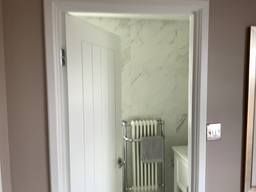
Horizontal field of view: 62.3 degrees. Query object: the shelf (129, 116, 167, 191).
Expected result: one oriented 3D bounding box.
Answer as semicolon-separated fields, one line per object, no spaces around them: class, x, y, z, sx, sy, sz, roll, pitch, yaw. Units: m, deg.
shelf;0.240;0.730;2.610;0.410;0.910;0.290;-1;5;-7
